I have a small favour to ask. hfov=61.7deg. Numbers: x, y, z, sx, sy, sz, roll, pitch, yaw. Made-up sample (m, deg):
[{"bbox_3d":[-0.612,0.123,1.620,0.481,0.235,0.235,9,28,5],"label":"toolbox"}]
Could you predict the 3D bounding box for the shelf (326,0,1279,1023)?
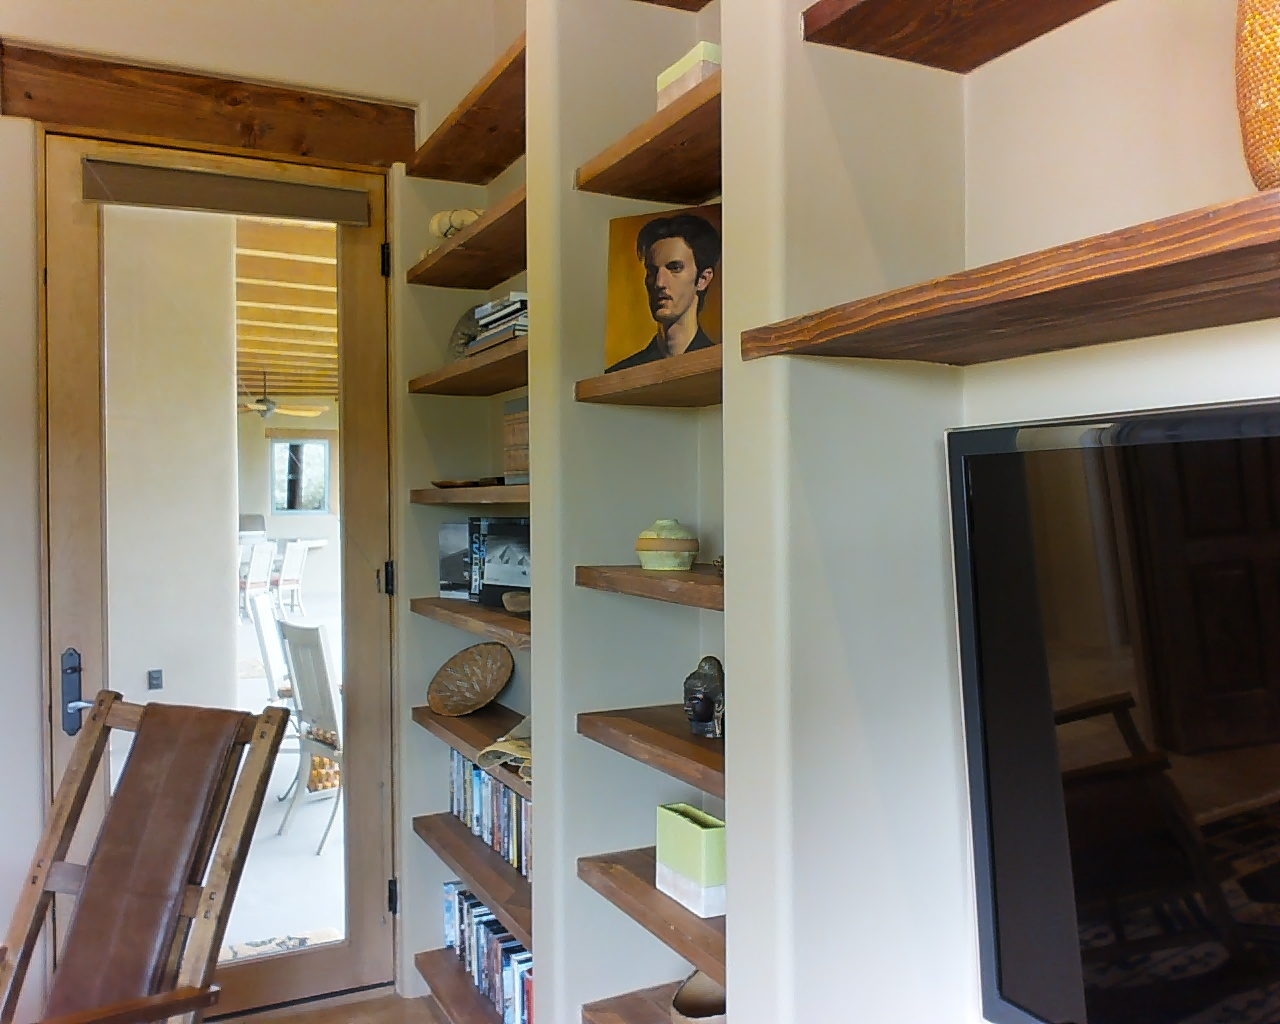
[{"bbox_3d":[0.320,0.140,1.190,0.470,2.571,4.400,-1,1,-27],"label":"shelf"}]
